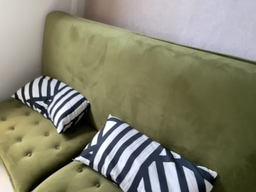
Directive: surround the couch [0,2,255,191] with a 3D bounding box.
[{"bbox_3d":[-0.130,0.120,1.100,1.690,0.790,0.900,27,115,36],"label":"couch"}]
